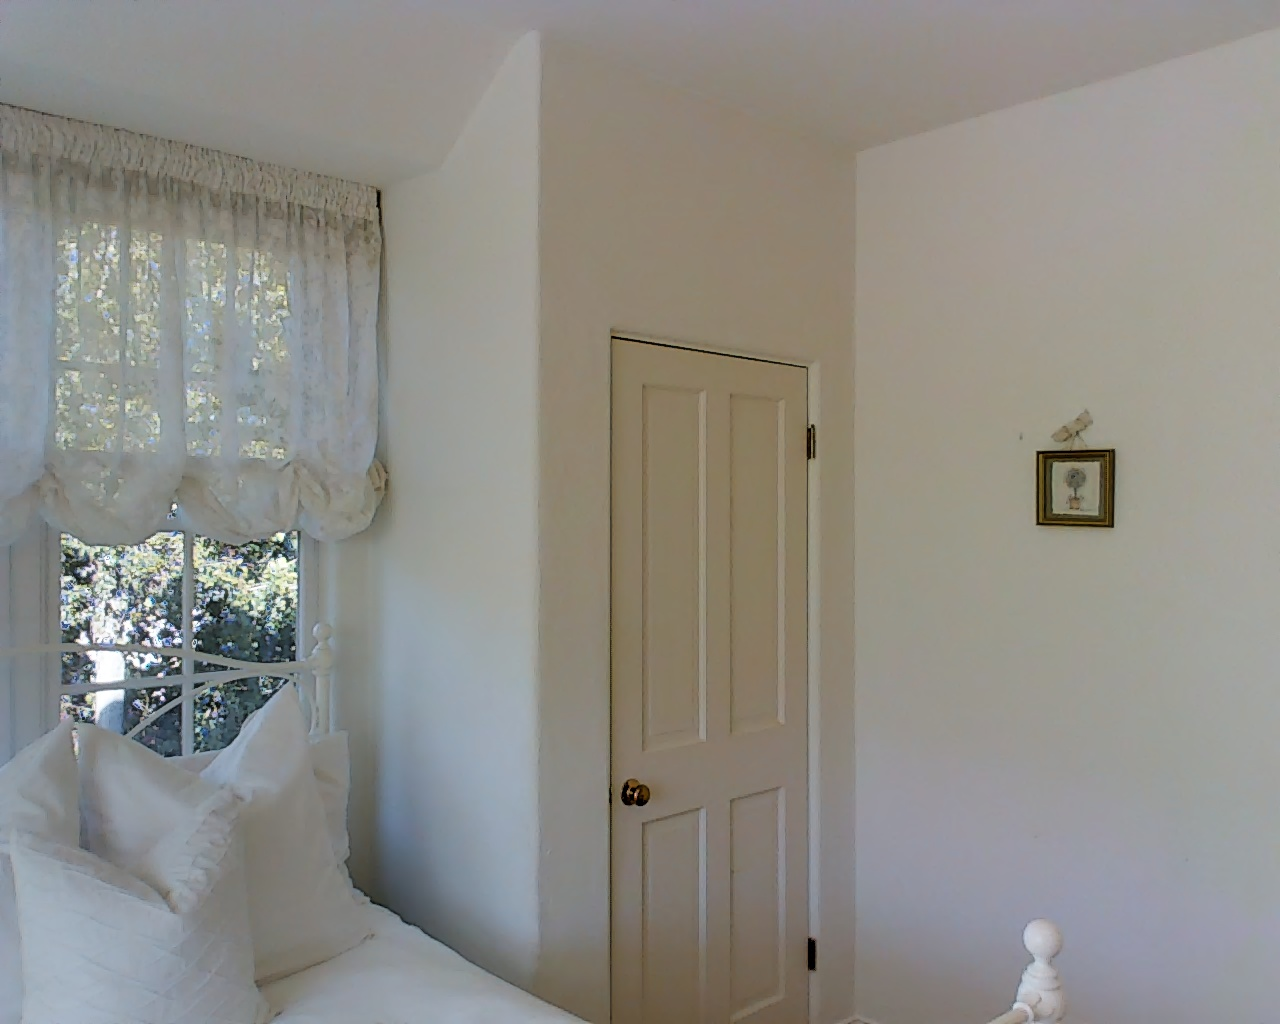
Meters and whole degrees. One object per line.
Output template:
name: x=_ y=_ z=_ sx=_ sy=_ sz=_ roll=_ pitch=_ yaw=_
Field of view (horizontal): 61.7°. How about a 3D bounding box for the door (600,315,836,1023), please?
door: x=0.240 y=0.570 z=2.900 sx=0.850 sy=2.091 sz=0.070 roll=0 pitch=0 yaw=-42
